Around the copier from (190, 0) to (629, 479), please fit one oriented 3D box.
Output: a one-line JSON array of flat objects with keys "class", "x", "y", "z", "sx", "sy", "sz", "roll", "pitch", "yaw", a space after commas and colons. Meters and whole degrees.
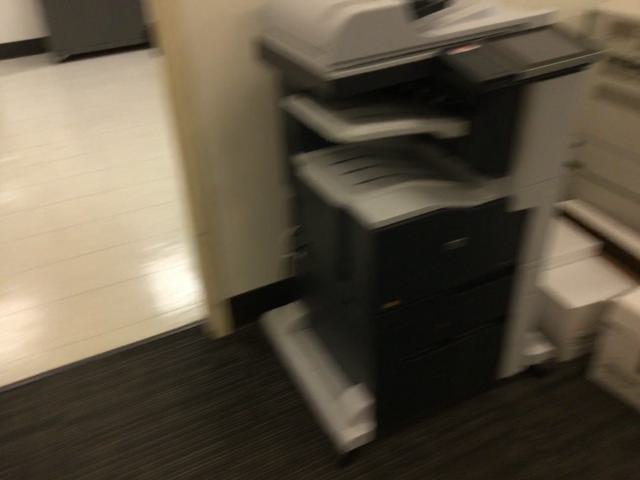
[{"class": "copier", "x": 0.210, "y": -0.110, "z": 1.640, "sx": 0.760, "sy": 1.170, "sz": 0.730, "roll": -18, "pitch": 32, "yaw": -17}]
